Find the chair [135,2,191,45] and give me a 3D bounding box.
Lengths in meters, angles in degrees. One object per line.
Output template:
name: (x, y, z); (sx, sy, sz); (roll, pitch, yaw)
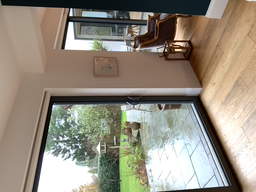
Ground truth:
chair: (0.610, -1.360, 3.980); (0.670, 0.790, 0.590); (-104, 17, -56)
